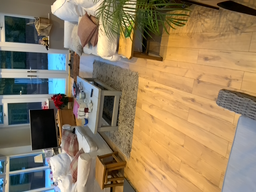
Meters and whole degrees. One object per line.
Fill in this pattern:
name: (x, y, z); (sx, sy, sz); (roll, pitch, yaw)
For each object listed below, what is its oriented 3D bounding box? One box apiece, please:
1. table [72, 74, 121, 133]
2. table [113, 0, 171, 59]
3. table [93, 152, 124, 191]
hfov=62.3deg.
table: (-0.610, 0.060, 3.700); (1.230, 0.410, 0.680); (30, 117, 57)
table: (0.140, -0.780, 2.290); (0.360, 0.430, 0.680); (31, 119, 58)
table: (-0.310, 1.160, 3.270); (0.350, 0.350, 0.400); (25, 114, 59)
